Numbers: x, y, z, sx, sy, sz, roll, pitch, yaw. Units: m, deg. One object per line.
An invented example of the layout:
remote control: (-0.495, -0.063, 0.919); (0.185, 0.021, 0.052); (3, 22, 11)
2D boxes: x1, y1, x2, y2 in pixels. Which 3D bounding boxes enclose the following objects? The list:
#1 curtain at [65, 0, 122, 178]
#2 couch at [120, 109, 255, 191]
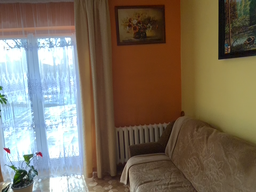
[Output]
curtain: (-0.480, -0.120, 3.140); (0.640, 2.590, 0.340); (-3, 7, -5)
couch: (0.580, 0.830, 1.950); (1.000, 0.950, 2.290); (-3, 7, -9)
